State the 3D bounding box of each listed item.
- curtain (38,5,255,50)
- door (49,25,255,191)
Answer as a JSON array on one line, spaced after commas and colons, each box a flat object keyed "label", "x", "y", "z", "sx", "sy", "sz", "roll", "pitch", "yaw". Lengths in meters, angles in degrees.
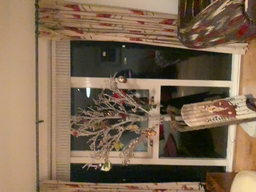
[{"label": "curtain", "x": 0.190, "y": -0.670, "z": 2.100, "sx": 0.090, "sy": 2.100, "sz": 0.360, "roll": -114, "pitch": 26, "yaw": -86}, {"label": "door", "x": 0.250, "y": 0.160, "z": 2.260, "sx": 0.090, "sy": 2.120, "sz": 1.710, "roll": -109, "pitch": 20, "yaw": -85}]
